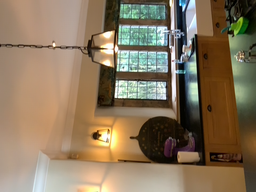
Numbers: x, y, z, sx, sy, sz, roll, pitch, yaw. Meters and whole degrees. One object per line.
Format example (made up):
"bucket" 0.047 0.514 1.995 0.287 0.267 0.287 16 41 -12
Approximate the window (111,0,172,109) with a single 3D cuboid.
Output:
"window" 0.270 -0.900 3.890 0.050 0.990 2.320 90 -178 -71
